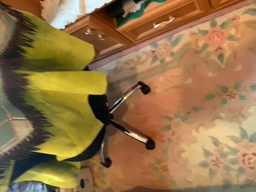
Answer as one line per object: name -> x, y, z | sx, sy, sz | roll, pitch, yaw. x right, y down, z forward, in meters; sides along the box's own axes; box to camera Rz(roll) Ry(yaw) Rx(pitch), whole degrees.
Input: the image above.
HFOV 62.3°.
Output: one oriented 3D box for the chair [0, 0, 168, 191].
chair -> -0.410, 0.100, 0.960 | 0.700, 1.240, 0.660 | -15, 78, 27
